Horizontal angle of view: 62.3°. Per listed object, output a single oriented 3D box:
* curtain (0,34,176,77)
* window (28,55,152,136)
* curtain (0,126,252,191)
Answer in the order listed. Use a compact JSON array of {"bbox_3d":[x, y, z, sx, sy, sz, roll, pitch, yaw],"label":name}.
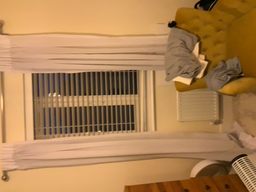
[{"bbox_3d":[-0.350,-0.350,1.910,0.180,1.600,0.330,-171,80,-78],"label":"curtain"},{"bbox_3d":[-0.330,-0.020,2.030,0.160,1.100,0.710,-171,80,-78],"label":"window"},{"bbox_3d":[0.020,0.520,1.880,0.270,2.270,0.330,-169,77,-78],"label":"curtain"}]
